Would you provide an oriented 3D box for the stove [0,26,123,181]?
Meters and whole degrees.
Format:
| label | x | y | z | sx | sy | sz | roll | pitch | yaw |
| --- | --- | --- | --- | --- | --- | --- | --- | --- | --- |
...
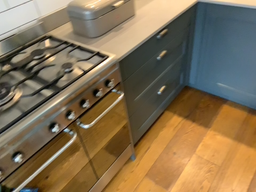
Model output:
| label | x | y | z | sx | sy | sz | roll | pitch | yaw |
| --- | --- | --- | --- | --- | --- | --- | --- | --- | --- |
| stove | -0.560 | 0.010 | 0.910 | 0.620 | 0.150 | 0.920 | 25 | 51 | 31 |
